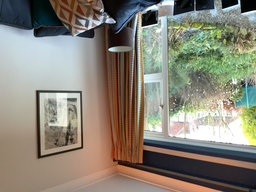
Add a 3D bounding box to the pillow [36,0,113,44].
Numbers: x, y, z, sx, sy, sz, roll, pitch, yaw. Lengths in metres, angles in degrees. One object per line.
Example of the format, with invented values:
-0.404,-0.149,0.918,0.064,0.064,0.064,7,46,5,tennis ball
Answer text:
-0.440,-0.720,1.700,0.480,0.450,0.150,-11,-150,29,pillow
